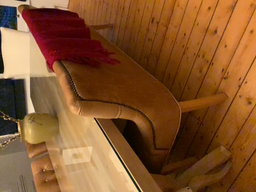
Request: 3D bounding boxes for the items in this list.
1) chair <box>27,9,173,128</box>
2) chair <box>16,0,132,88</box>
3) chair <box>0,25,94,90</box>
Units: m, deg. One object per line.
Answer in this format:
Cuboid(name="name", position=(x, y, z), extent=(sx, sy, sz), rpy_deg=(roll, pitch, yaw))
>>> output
Cuboid(name="chair", position=(-0.240, -0.240, 1.640), extent=(0.550, 0.890, 0.620), rpy_deg=(42, 129, 46))
Cuboid(name="chair", position=(-0.530, -0.500, 2.040), extent=(0.530, 0.890, 0.620), rpy_deg=(42, 129, 46))
Cuboid(name="chair", position=(-1.060, -0.520, 2.770), extent=(0.680, 0.990, 0.630), rpy_deg=(33, 122, 51))
